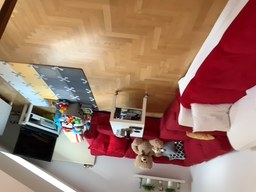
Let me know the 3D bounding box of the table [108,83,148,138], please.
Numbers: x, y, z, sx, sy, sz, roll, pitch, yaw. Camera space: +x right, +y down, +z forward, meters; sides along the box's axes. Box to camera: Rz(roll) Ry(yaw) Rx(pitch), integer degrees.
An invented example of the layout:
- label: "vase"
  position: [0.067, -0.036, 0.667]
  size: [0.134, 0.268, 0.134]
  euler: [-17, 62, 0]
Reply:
- label: "table"
  position: [0.000, 0.300, 3.670]
  size: [0.530, 0.570, 1.110]
  euler: [6, 157, 1]

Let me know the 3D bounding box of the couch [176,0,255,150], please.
- label: "couch"
  position: [1.110, -0.190, 1.830]
  size: [0.890, 0.870, 2.150]
  euler: [6, 157, 1]

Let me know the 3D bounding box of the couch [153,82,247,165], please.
- label: "couch"
  position: [1.080, 0.710, 4.000]
  size: [0.870, 0.840, 2.510]
  euler: [6, 157, 1]

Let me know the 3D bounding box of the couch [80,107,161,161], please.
- label: "couch"
  position: [-0.140, 0.880, 4.750]
  size: [1.560, 0.830, 0.940]
  euler: [6, 157, 1]
